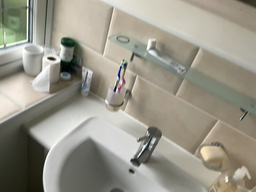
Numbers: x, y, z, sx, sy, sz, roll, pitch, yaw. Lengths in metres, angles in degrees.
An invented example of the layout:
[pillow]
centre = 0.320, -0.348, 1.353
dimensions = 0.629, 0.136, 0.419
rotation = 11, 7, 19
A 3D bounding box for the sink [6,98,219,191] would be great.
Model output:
[sink]
centre = -0.010, 0.300, 0.730
dimensions = 0.510, 0.170, 0.500
rotation = 31, 36, 15
